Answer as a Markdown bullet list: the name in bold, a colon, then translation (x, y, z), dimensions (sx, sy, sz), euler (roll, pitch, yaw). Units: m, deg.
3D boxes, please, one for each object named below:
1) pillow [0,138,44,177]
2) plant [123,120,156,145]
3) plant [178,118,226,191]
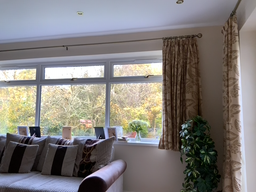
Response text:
- **pillow**: translation (-1.410, 0.800, 2.770), dimensions (0.470, 0.390, 0.200), euler (-7, 12, 1)
- **plant**: translation (0.180, 0.540, 3.200), dimensions (0.430, 0.330, 0.290), euler (-1, -5, 19)
- **plant**: translation (0.890, 0.840, 2.550), dimensions (0.490, 1.140, 0.520), euler (-1, -5, 22)
